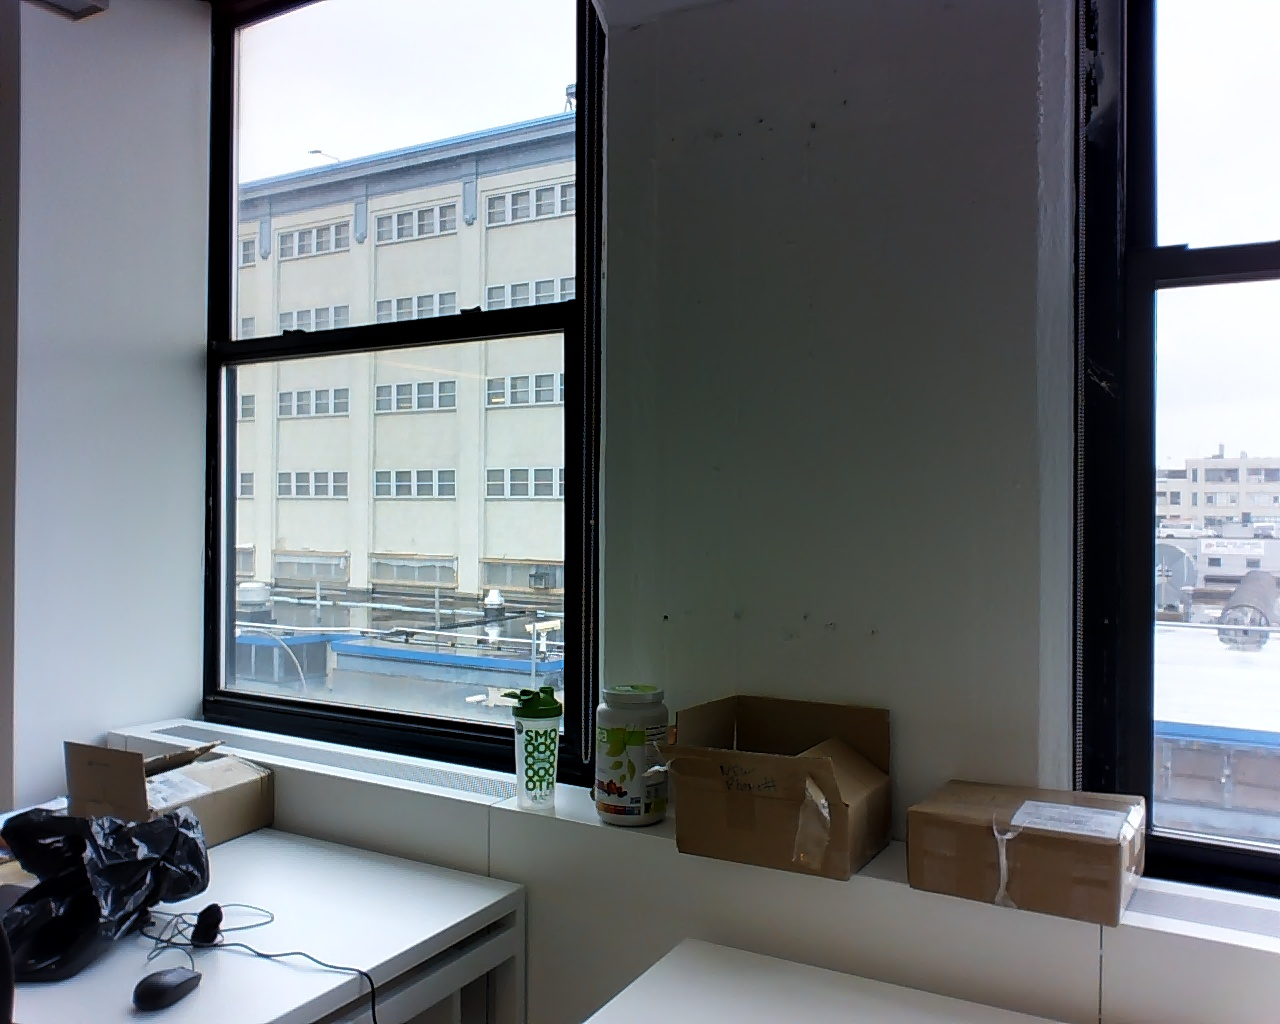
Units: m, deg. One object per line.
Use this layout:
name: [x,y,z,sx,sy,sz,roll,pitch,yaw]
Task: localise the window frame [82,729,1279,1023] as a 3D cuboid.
window frame: [0.250,0.630,1.720,3.639,0.170,0.110,0,0,30]
